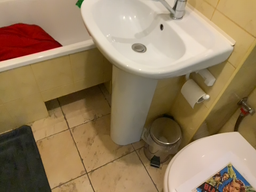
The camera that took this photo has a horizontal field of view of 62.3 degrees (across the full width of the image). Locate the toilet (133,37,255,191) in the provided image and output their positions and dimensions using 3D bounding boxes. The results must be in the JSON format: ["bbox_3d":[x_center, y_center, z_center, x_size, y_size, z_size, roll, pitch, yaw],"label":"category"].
[{"bbox_3d":[0.430,0.260,0.810,0.620,0.970,0.360,-20,56,-21],"label":"toilet"}]

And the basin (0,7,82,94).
[{"bbox_3d":[-0.690,-0.300,1.360,0.650,0.240,0.410,-21,57,-22],"label":"basin"}]

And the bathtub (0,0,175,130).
[{"bbox_3d":[-0.500,-0.330,1.470,1.390,0.500,0.680,-18,56,-20],"label":"bathtub"}]
